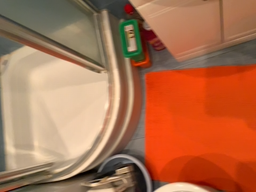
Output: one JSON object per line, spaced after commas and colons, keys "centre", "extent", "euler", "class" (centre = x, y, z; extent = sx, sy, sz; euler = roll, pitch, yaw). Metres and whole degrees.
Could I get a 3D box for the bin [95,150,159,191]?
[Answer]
{"centre": [0.000, 0.460, 1.140], "extent": [0.250, 0.180, 0.270], "euler": [-18, 77, 21], "class": "bin"}
